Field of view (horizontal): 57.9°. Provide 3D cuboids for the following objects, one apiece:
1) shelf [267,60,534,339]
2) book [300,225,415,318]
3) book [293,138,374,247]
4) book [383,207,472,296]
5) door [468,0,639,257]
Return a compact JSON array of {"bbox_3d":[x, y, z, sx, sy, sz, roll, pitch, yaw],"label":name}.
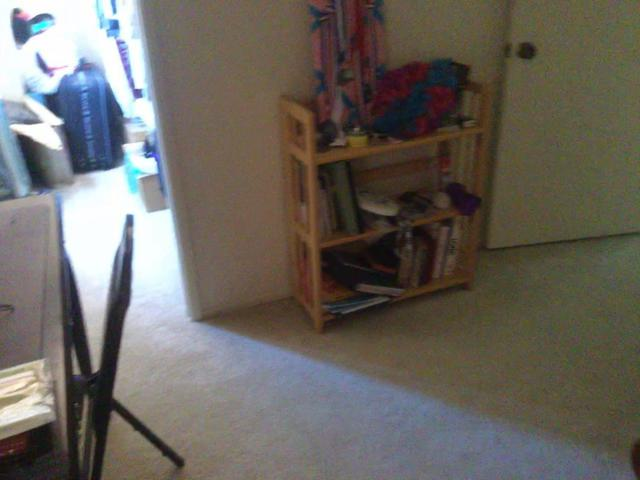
[{"bbox_3d":[0.310,-0.180,2.180,0.870,0.810,0.340,-15,29,-21],"label":"shelf"},{"bbox_3d":[0.140,0.110,2.230,0.320,0.160,0.320,-15,29,-21],"label":"book"},{"bbox_3d":[0.050,-0.170,2.010,0.200,0.300,0.190,-15,29,-21],"label":"book"},{"bbox_3d":[0.420,0.040,2.270,0.290,0.240,0.170,-15,29,-21],"label":"book"},{"bbox_3d":[1.200,-0.670,2.370,1.040,1.390,0.330,-6,27,-3],"label":"door"}]
